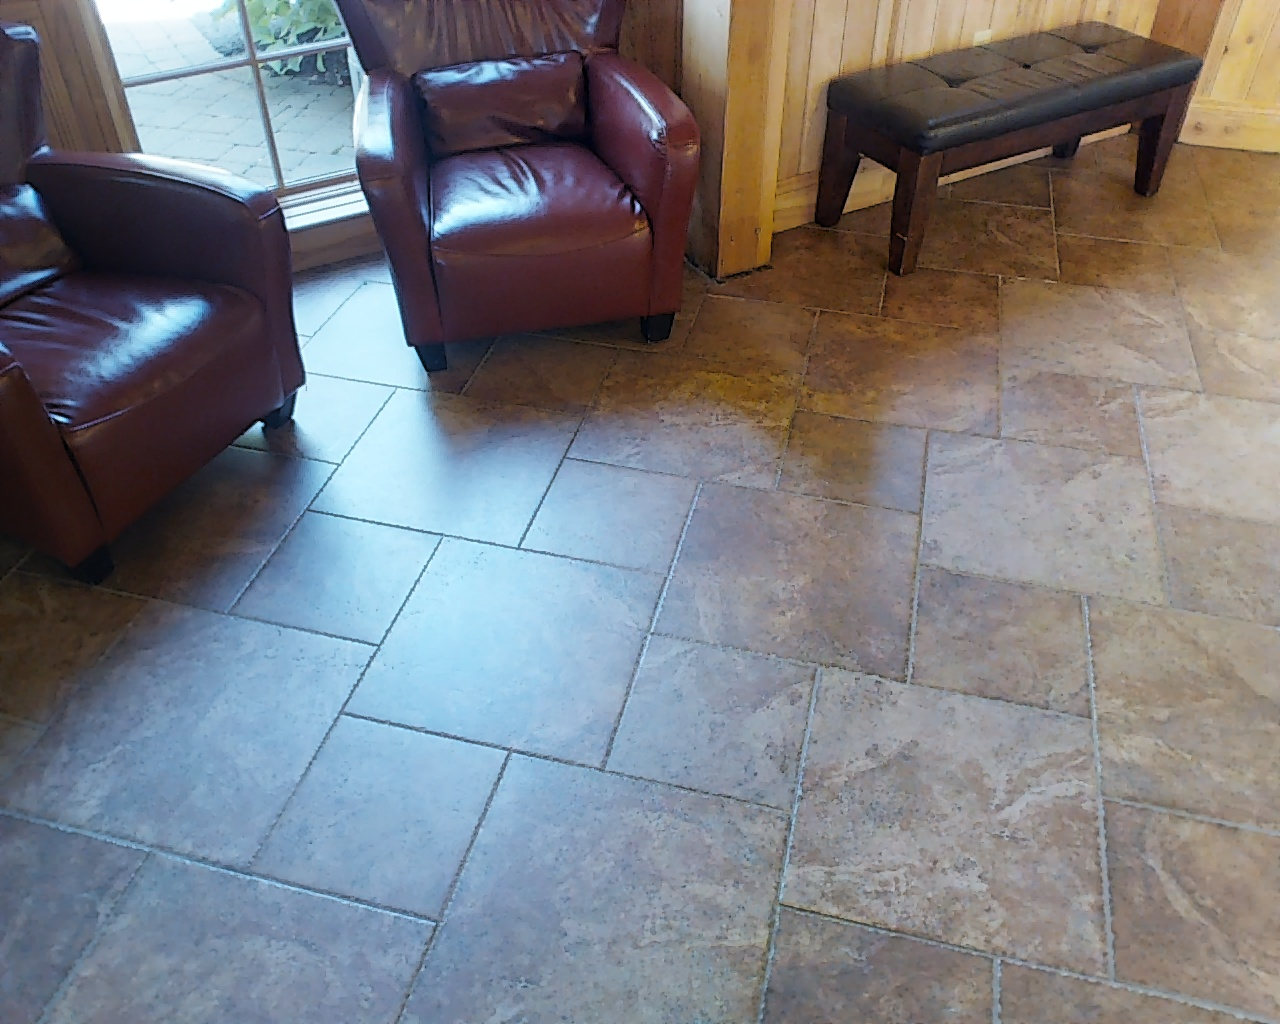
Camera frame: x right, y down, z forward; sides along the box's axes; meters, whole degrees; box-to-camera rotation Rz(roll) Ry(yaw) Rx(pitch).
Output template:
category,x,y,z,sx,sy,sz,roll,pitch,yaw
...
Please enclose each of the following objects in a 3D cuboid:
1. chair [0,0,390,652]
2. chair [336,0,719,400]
category,x,y,z,sx,sy,sz,roll,pitch,yaw
chair,-1.230,-0.480,2.290,0.770,0.910,1.020,18,44,21
chair,-0.340,-1.010,2.930,0.810,0.900,0.980,-10,42,-11
